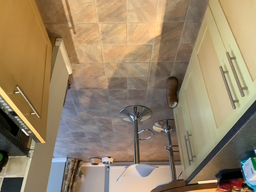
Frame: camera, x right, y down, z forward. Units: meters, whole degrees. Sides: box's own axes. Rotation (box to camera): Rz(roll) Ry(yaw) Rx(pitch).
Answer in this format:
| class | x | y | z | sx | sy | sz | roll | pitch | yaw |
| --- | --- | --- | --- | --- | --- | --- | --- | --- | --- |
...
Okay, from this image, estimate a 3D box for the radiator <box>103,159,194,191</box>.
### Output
| class | x | y | z | sx | sy | sz | roll | pitch | yaw |
| --- | --- | --- | --- | --- | --- | --- | --- | --- | --- |
| radiator | 0.340 | 1.470 | 3.730 | 1.520 | 0.660 | 0.120 | 0 | 146 | -1 |
